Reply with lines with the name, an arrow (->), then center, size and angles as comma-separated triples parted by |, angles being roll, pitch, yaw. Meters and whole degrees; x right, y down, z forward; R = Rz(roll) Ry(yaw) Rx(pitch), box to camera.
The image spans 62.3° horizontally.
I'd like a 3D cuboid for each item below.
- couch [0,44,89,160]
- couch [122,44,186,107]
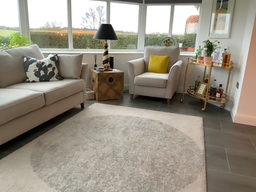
couch -> -1.410, -0.090, 2.440 | 1.060, 0.870, 2.050 | 8, 17, 16
couch -> 0.500, -0.450, 3.910 | 0.890, 0.930, 0.950 | 9, 17, 19
